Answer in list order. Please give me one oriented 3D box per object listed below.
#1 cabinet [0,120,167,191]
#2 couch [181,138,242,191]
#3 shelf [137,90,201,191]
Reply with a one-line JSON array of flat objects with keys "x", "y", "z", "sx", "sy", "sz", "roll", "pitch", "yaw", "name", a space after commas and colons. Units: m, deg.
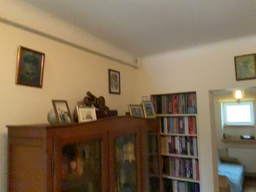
[{"x": -0.180, "y": 1.060, "z": 1.840, "sx": 0.480, "sy": 1.660, "sz": 1.660, "roll": -4, "pitch": -7, "yaw": 30, "name": "cabinet"}, {"x": 1.970, "y": 1.600, "z": 4.840, "sx": 0.940, "sy": 1.070, "sz": 1.780, "roll": -4, "pitch": -7, "yaw": 31, "name": "couch"}, {"x": 0.500, "y": 0.990, "z": 2.670, "sx": 0.780, "sy": 2.070, "sz": 0.100, "roll": -4, "pitch": -7, "yaw": 31, "name": "shelf"}]
